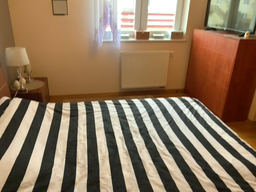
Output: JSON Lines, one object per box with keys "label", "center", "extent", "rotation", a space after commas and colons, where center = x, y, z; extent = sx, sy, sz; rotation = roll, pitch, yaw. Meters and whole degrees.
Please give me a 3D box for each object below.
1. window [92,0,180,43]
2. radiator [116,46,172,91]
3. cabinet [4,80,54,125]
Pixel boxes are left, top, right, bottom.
{"label": "window", "center": [0.140, -1.580, 3.330], "extent": [1.380, 1.420, 0.210], "rotation": [-4, 24, -14]}
{"label": "radiator", "center": [0.240, -0.460, 3.540], "extent": [0.860, 0.710, 0.220], "rotation": [-2, 24, -9]}
{"label": "cabinet", "center": [-1.290, 0.060, 2.860], "extent": [0.450, 0.340, 0.650], "rotation": [-3, 24, -12]}
